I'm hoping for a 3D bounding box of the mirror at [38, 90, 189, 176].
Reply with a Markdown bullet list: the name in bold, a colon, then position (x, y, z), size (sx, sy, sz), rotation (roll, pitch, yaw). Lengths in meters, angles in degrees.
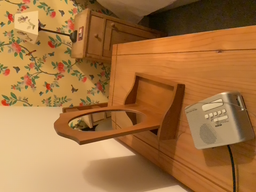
- **mirror**: position (-0.070, 0.090, 0.710), size (0.350, 0.370, 0.150), rotation (16, 100, 58)
